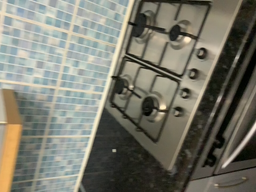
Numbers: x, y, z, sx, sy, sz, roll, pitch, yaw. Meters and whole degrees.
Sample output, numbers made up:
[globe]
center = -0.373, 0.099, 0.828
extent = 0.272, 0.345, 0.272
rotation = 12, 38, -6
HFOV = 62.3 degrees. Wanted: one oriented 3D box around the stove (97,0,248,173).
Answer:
[stove]
center = 0.080, -0.120, 0.830
extent = 0.560, 0.030, 0.570
rotation = 36, 113, 50
